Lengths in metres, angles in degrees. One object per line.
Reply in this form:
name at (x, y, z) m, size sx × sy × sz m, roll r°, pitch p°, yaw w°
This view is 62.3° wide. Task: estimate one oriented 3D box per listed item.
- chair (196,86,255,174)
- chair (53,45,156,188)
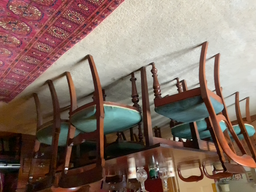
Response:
chair at (1.300, 0.440, 2.580) m, size 0.560 × 0.880 × 0.460 m, roll -26°, pitch 150°, yaw 37°
chair at (-0.190, 0.190, 1.640) m, size 0.480 × 0.890 × 0.520 m, roll -22°, pitch 152°, yaw 32°
